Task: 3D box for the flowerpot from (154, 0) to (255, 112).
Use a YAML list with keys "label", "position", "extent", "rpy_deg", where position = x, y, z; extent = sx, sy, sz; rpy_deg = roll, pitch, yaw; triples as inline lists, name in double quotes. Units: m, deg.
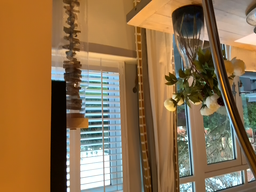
- label: "flowerpot"
  position: [0.410, -0.230, 1.260]
  extent: [0.230, 0.620, 0.480]
  rpy_deg: [1, 172, -30]
